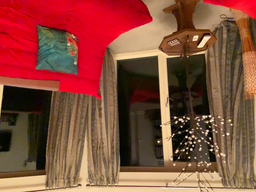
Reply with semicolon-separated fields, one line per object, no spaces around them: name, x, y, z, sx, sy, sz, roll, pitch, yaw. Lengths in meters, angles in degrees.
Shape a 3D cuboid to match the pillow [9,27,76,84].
pillow;-0.820;-0.400;2.070;0.440;0.400;0.160;-33;-172;-38
